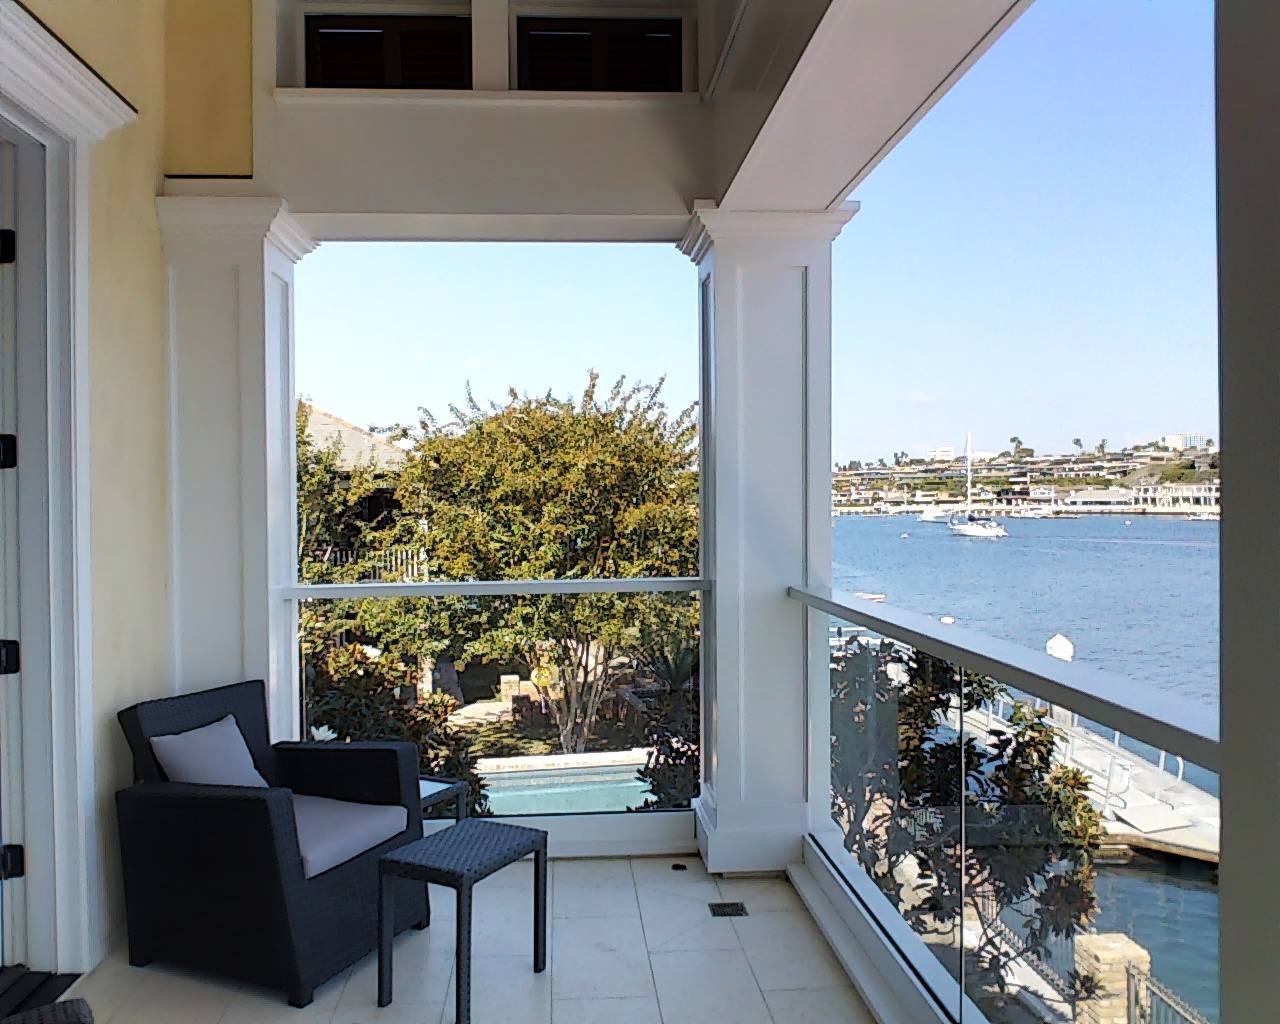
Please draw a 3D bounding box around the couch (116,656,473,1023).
[{"bbox_3d":[-1.090,0.990,3.500,0.740,0.890,0.830,0,1,24],"label":"couch"}]
